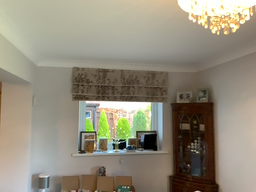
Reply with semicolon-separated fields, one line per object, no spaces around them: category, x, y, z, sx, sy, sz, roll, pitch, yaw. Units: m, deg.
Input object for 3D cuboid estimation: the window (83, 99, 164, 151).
window;-0.050;0.420;3.190;1.230;0.740;0.030;1;-4;-11
